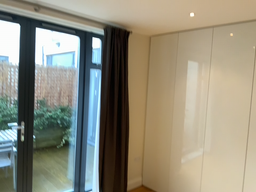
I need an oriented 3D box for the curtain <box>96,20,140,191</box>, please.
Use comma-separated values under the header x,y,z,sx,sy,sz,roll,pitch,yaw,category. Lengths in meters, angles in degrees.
x,y,z,sx,sy,sz,roll,pitch,yaw,category
-0.140,0.280,2.830,0.430,2.400,0.210,0,5,-41,curtain
